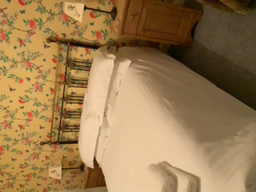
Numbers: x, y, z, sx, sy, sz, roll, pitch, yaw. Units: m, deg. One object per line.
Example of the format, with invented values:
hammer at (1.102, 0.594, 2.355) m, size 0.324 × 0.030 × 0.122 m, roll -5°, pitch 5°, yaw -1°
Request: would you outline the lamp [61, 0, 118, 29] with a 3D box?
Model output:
lamp at (-0.360, -0.790, 1.940) m, size 0.270 × 0.450 × 0.220 m, roll -124°, pitch 42°, yaw -55°
